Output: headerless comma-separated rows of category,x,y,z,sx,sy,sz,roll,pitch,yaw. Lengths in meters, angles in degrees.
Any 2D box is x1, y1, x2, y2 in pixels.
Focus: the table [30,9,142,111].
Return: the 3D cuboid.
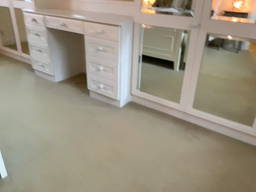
table,-0.460,-0.430,2.190,1.170,0.770,0.310,20,32,30
